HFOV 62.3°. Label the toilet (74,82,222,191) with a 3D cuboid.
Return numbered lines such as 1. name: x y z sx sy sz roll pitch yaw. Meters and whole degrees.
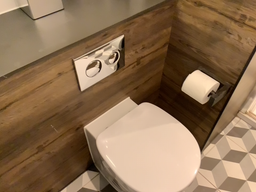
1. toilet: 0.070 0.310 1.060 0.390 0.450 0.490 -34 58 -27
